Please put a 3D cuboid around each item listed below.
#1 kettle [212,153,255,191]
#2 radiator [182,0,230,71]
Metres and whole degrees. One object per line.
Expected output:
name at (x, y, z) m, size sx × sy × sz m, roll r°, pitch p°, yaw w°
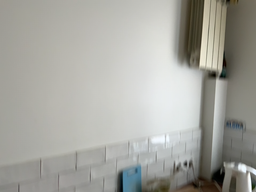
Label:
kettle at (0.700, 0.520, 1.330) m, size 0.350 × 0.210 × 0.180 m, roll -1°, pitch 4°, yaw -44°
radiator at (0.560, -0.490, 1.490) m, size 0.400 × 0.600 × 0.130 m, roll -1°, pitch 4°, yaw -44°
